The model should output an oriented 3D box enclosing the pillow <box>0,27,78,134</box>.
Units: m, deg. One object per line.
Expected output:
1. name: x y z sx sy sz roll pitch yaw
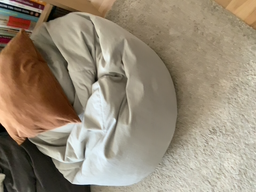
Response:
1. pillow: -0.540 -0.040 1.040 0.240 0.430 0.400 51 180 3
